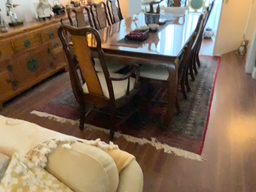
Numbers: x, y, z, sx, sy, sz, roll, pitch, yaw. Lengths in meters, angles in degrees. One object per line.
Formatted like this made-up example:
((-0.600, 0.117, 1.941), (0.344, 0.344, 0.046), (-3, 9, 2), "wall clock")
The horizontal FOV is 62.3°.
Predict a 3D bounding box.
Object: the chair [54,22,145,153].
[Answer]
((-0.190, -0.100, 1.960), (0.500, 0.980, 0.590), (11, 33, 20), "chair")
